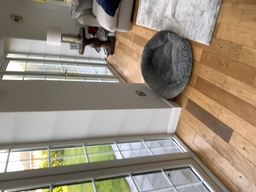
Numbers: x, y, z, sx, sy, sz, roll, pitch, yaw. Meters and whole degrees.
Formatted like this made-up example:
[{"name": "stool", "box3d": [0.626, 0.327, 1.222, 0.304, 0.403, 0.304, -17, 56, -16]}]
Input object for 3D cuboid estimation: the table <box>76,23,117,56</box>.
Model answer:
[{"name": "table", "box3d": [-0.670, -1.170, 4.400, 0.520, 0.670, 0.490, -129, 45, -56]}]
